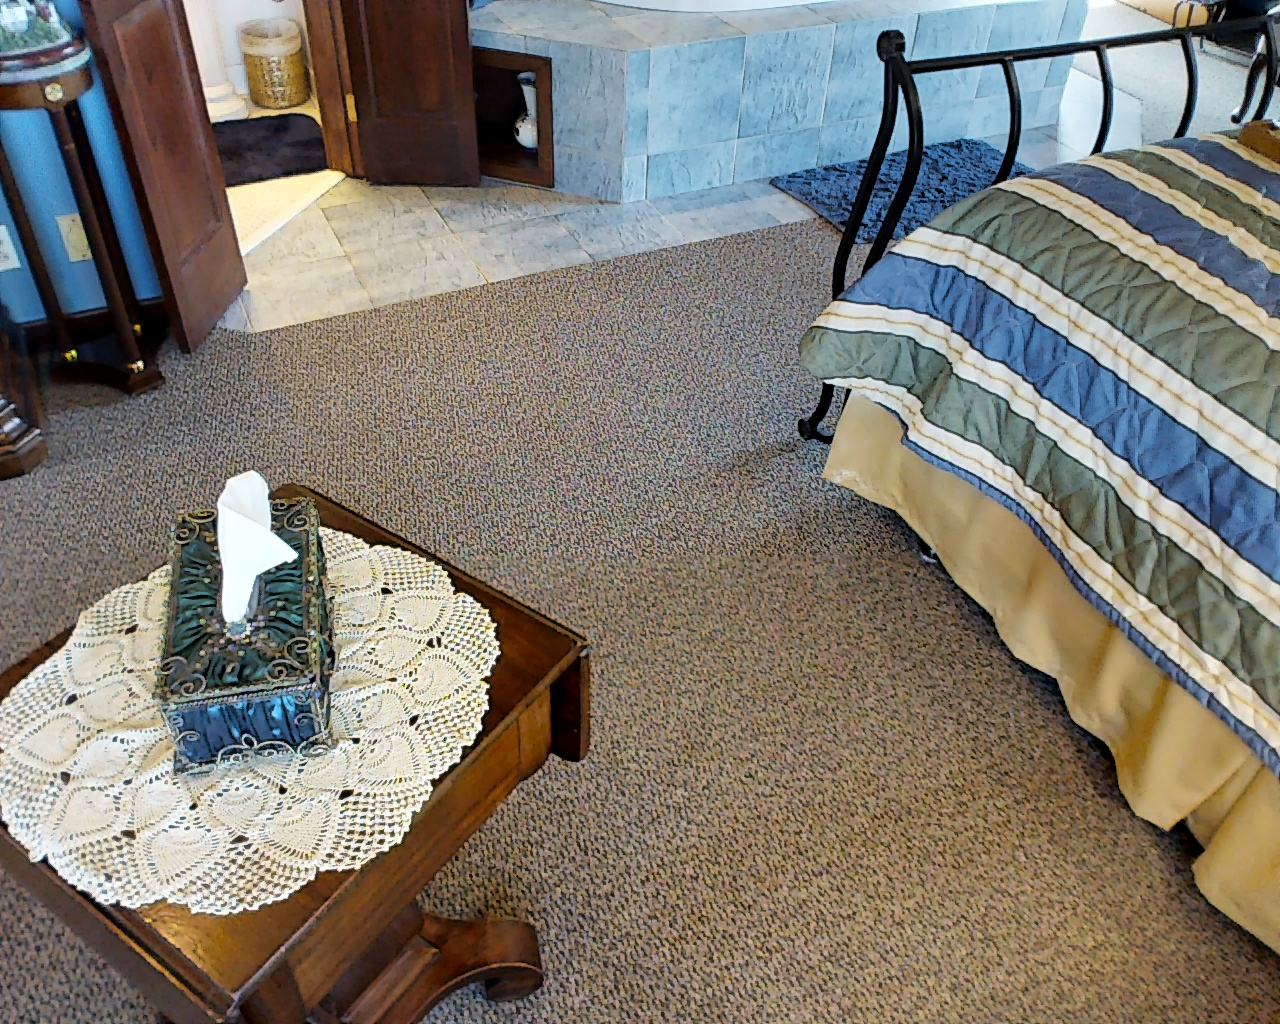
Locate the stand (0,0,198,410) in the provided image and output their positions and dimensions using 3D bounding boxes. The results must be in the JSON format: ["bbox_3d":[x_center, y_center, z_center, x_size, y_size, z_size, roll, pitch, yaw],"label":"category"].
[{"bbox_3d":[-1.320,-0.720,2.510,0.280,0.860,0.360,-21,47,-25],"label":"stand"}]

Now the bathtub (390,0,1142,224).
[{"bbox_3d":[0.450,-1.900,4.090,2.470,0.660,1.370,-16,45,-21],"label":"bathtub"}]

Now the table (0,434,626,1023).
[{"bbox_3d":[-0.400,0.440,1.330,0.510,0.760,0.580,24,45,22],"label":"table"}]
